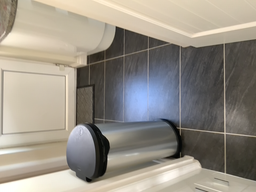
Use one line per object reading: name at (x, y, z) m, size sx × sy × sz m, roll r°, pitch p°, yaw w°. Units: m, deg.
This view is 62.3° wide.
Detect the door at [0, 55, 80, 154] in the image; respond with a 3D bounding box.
door at (-1.350, 0.070, 1.910) m, size 0.090 × 1.990 × 0.930 m, roll -9°, pitch 82°, yaw 47°

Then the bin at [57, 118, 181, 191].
bin at (-0.030, 0.300, 1.300) m, size 0.340 × 0.690 × 0.290 m, roll -9°, pitch 82°, yaw 47°

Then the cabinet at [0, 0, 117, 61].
cabinet at (-0.640, -0.580, 1.910) m, size 0.570 × 0.920 × 0.290 m, roll -8°, pitch 83°, yaw 47°
